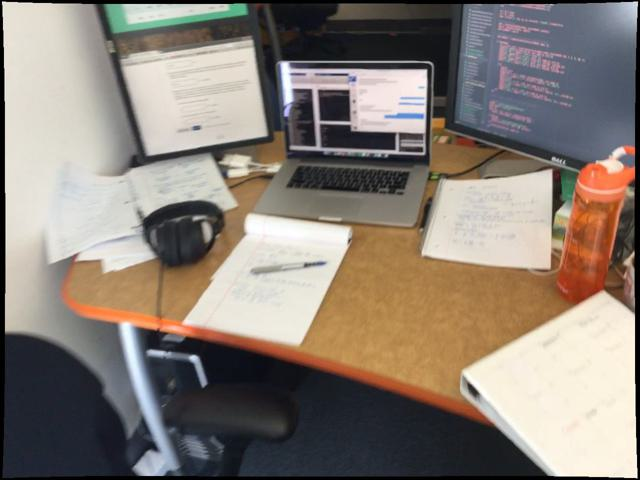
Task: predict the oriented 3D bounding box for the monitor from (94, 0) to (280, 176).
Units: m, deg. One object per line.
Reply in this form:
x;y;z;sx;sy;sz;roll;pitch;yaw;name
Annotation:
-0.290;-0.420;1.340;0.320;0.460;0.200;-9;38;-4;monitor

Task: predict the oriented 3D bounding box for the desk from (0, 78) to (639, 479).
0.190;0.250;1.330;1.529;0.831;0.990;7;39;16;desk
